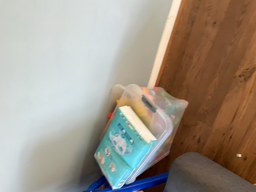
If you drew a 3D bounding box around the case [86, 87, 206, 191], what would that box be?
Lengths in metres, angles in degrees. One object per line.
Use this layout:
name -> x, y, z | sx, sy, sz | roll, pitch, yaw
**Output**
case -> 0.110, 0.260, 1.410 | 0.310, 0.550, 0.530 | 52, 129, 26
